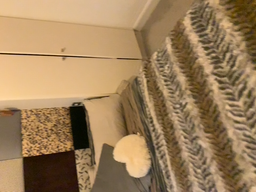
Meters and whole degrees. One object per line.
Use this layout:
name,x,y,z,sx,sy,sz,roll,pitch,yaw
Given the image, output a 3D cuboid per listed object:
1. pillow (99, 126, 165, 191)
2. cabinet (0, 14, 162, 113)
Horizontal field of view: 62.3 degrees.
pillow,0.040,0.520,1.770,0.410,0.350,0.180,24,153,21
cabinet,-0.870,-0.340,2.240,2.480,0.910,0.330,-3,159,-26
